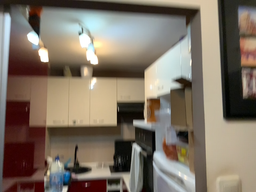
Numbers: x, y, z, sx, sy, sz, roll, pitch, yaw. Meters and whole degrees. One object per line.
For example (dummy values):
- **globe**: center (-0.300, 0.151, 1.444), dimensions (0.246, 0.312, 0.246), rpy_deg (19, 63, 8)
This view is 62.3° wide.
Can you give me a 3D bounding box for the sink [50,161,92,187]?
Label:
- **sink**: center (-0.820, 1.140, 3.150), dimensions (0.550, 0.200, 0.510), rpy_deg (0, -4, -9)
